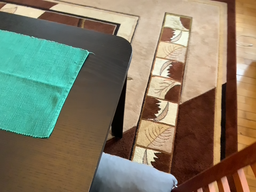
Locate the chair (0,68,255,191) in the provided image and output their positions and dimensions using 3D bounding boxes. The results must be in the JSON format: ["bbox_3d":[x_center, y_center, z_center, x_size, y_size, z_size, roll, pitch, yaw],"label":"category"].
[{"bbox_3d":[0.000,0.400,0.710,0.470,0.890,0.470,9,60,2],"label":"chair"}]
